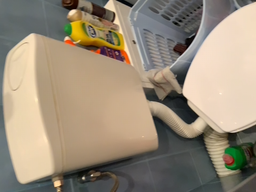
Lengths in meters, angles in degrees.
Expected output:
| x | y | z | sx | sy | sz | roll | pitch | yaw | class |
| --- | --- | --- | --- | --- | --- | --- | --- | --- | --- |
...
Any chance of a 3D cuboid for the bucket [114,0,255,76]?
| x | y | z | sx | sy | sz | roll | pitch | yaw | class |
| --- | --- | --- | --- | --- | --- | --- | --- | --- | --- |
| 0.290 | -0.350 | 1.010 | 0.390 | 0.530 | 0.290 | -34 | 64 | 38 | bucket |
